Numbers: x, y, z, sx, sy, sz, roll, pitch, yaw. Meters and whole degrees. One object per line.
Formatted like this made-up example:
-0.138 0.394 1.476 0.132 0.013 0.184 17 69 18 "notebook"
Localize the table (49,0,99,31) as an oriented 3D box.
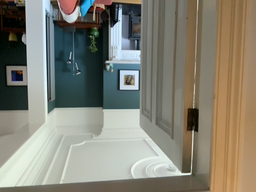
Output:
-1.200 -1.850 4.860 1.030 0.510 0.600 1 -175 -8 "table"
